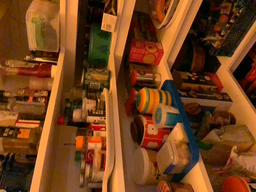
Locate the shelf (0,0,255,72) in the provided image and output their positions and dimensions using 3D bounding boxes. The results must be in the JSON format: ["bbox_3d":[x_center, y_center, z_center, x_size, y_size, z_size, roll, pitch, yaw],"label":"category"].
[{"bbox_3d":[0.310,-0.540,0.930,0.660,1.790,0.430,108,161,-44],"label":"shelf"}]
